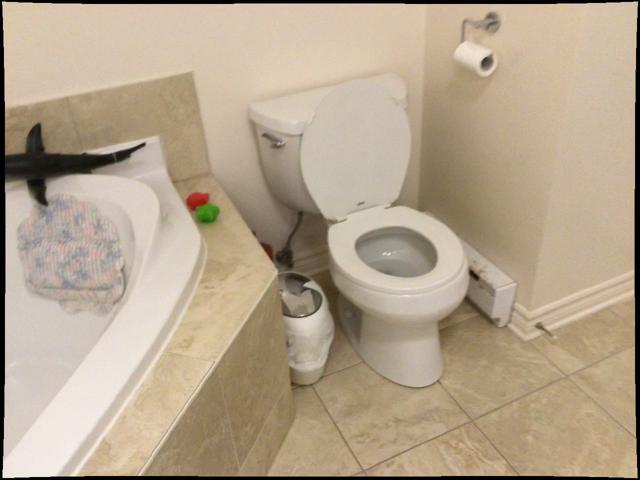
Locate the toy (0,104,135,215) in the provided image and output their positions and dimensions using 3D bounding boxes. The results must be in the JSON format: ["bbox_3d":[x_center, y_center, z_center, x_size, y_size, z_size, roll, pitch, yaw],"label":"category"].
[{"bbox_3d":[-0.699,-0.210,1.500,0.370,0.170,0.140,-17,36,-19],"label":"toy"}]

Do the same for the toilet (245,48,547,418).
[{"bbox_3d":[0.170,-0.060,1.700,0.490,0.751,0.680,-17,36,-19],"label":"toilet"}]

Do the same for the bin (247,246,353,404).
[{"bbox_3d":[-0.060,0.240,1.690,0.180,0.290,0.310,-17,36,-19],"label":"bin"}]
